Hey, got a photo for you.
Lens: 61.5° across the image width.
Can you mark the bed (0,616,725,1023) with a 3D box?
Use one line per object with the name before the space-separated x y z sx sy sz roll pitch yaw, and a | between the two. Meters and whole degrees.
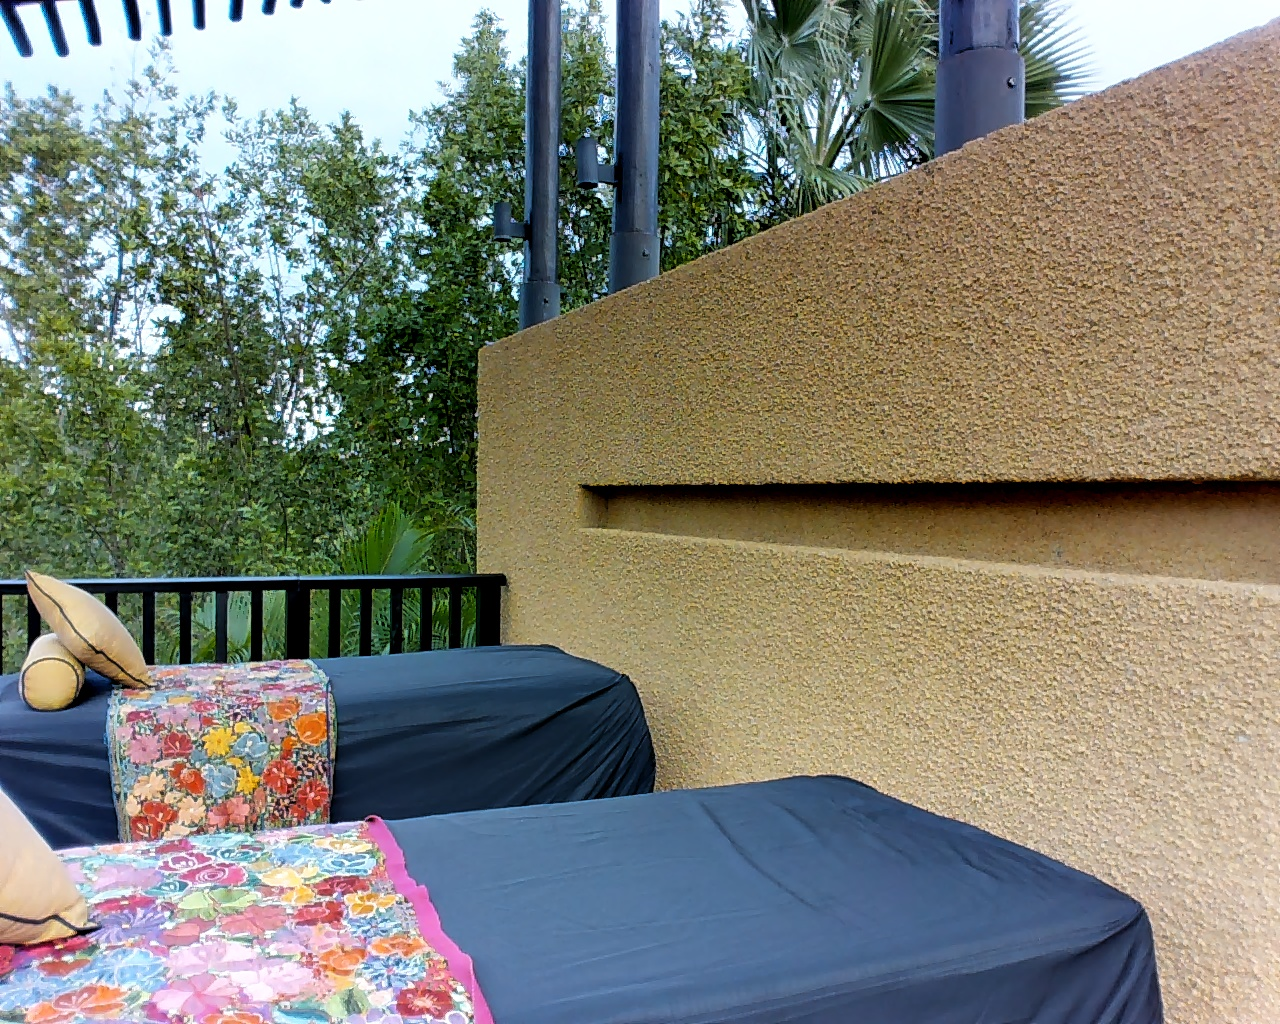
bed | -0.970 0.850 3.490 2.259 0.830 1.010 0 2 -25
